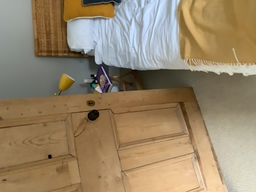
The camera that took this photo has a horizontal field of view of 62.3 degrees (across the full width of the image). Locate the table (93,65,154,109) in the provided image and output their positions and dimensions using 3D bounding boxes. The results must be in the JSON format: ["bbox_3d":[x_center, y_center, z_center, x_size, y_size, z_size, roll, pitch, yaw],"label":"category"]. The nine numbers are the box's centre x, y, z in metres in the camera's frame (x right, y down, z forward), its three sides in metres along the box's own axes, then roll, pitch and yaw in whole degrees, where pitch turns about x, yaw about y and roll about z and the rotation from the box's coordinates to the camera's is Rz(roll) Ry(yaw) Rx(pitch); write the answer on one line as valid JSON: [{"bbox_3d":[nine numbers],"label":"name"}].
[{"bbox_3d":[-0.050,-0.110,2.030,0.340,0.460,0.340,24,114,57],"label":"table"}]
